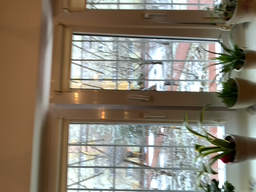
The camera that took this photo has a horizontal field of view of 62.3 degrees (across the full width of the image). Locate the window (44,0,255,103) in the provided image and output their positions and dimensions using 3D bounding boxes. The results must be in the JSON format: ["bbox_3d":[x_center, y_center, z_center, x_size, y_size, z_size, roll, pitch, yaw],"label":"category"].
[{"bbox_3d":[0.130,-0.680,1.290,0.110,1.140,1.430,94,176,-82],"label":"window"}]

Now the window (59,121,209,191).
[{"bbox_3d":[0.030,0.570,1.210,0.200,0.790,0.840,95,176,-83],"label":"window"}]
